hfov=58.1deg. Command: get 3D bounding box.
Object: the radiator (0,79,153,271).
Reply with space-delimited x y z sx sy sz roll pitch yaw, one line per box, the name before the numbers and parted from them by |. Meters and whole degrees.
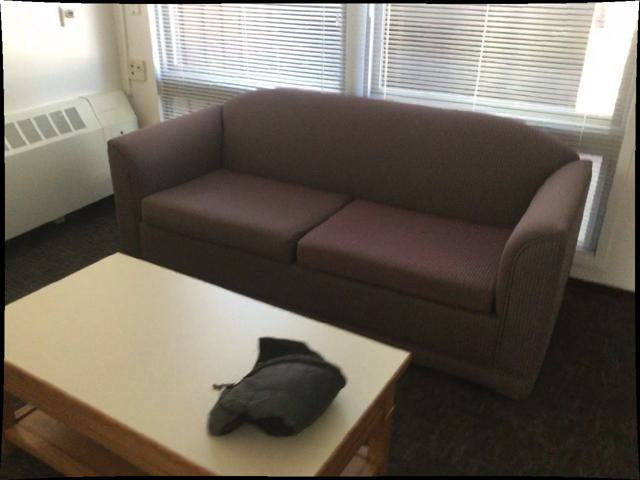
radiator | -1.577 -0.170 2.550 0.210 0.671 2.090 14 30 23
